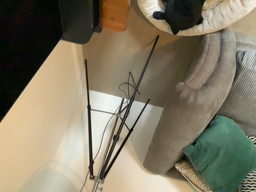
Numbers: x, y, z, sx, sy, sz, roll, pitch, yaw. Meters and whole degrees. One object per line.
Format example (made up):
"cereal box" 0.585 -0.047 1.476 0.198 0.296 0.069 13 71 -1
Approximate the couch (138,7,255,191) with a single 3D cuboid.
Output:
"couch" 1.030 0.250 1.520 1.670 0.730 1.120 14 143 4
